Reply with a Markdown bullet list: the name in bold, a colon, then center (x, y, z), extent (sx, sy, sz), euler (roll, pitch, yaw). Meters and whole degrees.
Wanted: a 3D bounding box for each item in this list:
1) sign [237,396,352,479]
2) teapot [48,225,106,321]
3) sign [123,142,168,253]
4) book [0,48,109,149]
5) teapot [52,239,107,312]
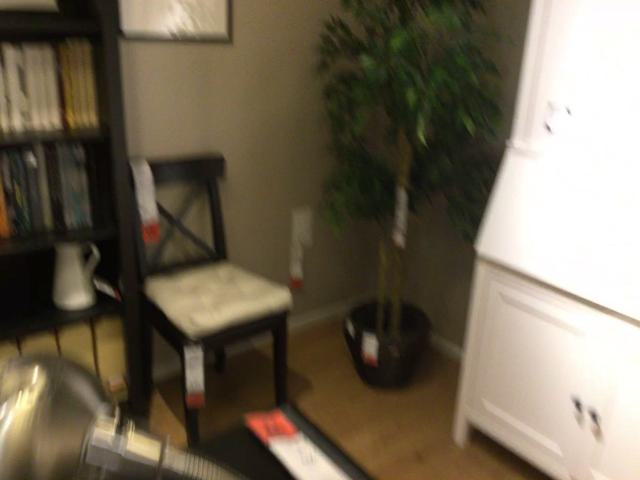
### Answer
- **sign**: center (-0.050, 0.340, 0.970), extent (0.070, 0.020, 0.240), euler (-10, 22, -35)
- **teapot**: center (-0.760, 0.100, 1.810), extent (0.120, 0.250, 0.140), euler (-10, 22, -36)
- **sign**: center (-0.620, -0.150, 2.050), extent (0.110, 0.380, 0.080), euler (-3, 19, -37)
- **book**: center (-0.810, -0.380, 1.520), extent (0.400, 0.230, 0.280), euler (-10, 22, -36)
- **teapot**: center (-0.760, 0.110, 1.830), extent (0.120, 0.180, 0.130), euler (-10, 22, -36)
